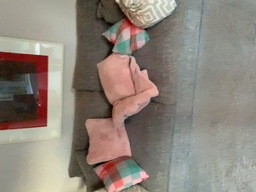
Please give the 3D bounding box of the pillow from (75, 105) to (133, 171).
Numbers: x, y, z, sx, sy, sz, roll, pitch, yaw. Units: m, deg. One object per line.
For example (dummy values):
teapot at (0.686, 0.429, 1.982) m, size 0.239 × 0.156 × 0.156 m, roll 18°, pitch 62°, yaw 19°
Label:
pillow at (-0.210, 0.420, 2.080) m, size 0.160 × 0.450 × 0.490 m, roll -20°, pitch 46°, yaw 44°

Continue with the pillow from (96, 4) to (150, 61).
pillow at (-0.040, -0.560, 1.910) m, size 0.320 × 0.380 × 0.120 m, roll -20°, pitch 29°, yaw 26°

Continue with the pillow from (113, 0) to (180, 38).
pillow at (0.130, -0.700, 1.580) m, size 0.320 × 0.390 × 0.210 m, roll -9°, pitch 40°, yaw 43°

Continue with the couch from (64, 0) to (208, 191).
couch at (-0.050, 0.040, 2.100) m, size 1.130 × 0.790 × 2.450 m, roll 16°, pitch 104°, yaw 57°

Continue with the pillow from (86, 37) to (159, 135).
pillow at (-0.100, -0.060, 1.950) m, size 0.650 × 0.260 × 0.620 m, roll -47°, pitch 52°, yaw 48°
